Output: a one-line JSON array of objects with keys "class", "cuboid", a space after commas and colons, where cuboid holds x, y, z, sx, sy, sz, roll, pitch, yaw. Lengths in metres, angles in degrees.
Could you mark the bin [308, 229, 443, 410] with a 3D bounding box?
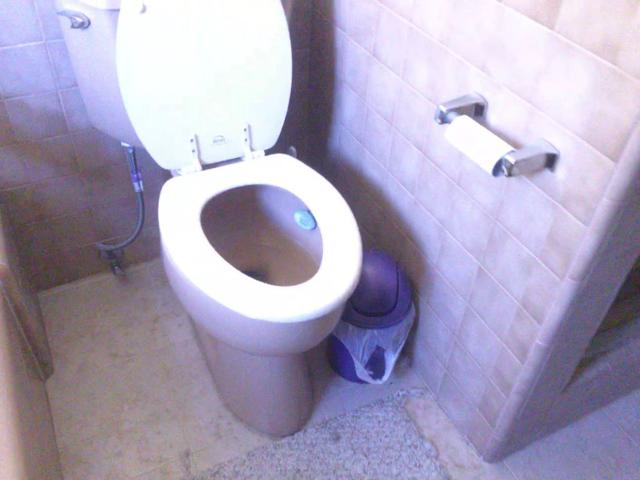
[{"class": "bin", "cuboid": [0.110, 0.180, 1.300, 0.210, 0.310, 0.190, -20, 47, -21]}]
